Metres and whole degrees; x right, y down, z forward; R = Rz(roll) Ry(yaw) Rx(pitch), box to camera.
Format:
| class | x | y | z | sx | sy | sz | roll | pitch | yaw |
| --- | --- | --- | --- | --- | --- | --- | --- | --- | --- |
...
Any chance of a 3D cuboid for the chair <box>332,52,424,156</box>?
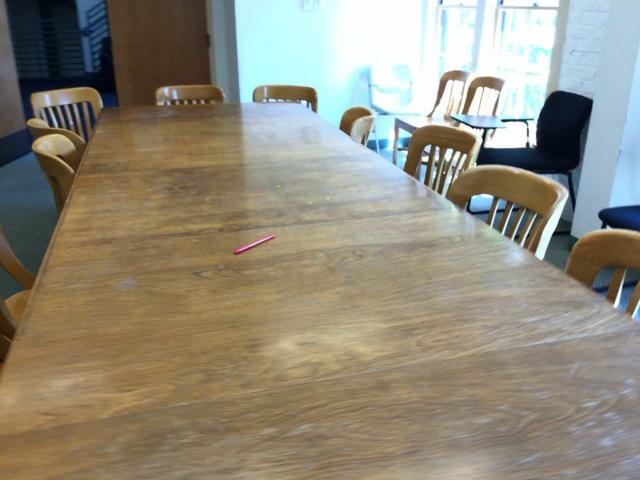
| class | x | y | z | sx | sy | sz | roll | pitch | yaw |
| --- | --- | --- | --- | --- | --- | --- | --- | --- | --- |
| chair | 0.510 | -1.260 | 5.300 | 0.650 | 0.810 | 0.510 | -7 | 25 | -16 |

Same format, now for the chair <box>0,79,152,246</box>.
| class | x | y | z | sx | sy | sz | roll | pitch | yaw |
| --- | --- | --- | --- | --- | --- | --- | --- | --- | --- |
| chair | -1.570 | -0.530 | 3.700 | 0.660 | 0.840 | 0.600 | 21 | 32 | 39 |

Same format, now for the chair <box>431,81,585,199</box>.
| class | x | y | z | sx | sy | sz | roll | pitch | yaw |
| --- | --- | --- | --- | --- | --- | --- | --- | --- | --- |
| chair | 1.100 | -0.630 | 3.500 | 0.600 | 0.540 | 0.580 | -7 | 25 | -16 |
